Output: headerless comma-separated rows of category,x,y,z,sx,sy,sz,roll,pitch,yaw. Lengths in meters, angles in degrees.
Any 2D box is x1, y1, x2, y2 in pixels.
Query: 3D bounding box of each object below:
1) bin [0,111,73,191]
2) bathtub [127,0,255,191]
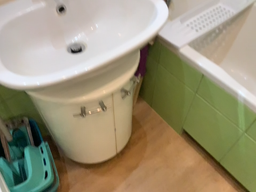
bin,-0.450,0.320,1.030,0.170,0.320,0.340,-29,57,-22
bathtub,0.690,0.050,1.080,0.680,0.550,1.420,-29,57,-23
